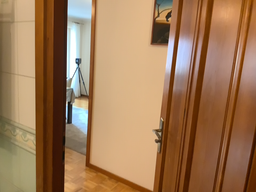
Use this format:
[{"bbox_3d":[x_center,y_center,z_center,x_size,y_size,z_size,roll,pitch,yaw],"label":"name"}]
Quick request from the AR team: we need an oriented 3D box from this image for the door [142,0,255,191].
[{"bbox_3d":[0.270,0.360,1.000,0.120,2.070,0.990,3,11,-9],"label":"door"}]
